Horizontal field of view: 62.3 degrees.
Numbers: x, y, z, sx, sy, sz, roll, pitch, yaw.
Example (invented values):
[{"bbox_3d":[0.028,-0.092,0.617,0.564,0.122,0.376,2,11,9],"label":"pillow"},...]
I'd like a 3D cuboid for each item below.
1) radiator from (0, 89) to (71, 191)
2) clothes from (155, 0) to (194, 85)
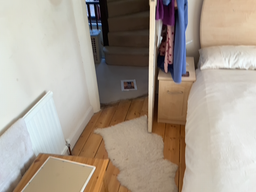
[{"bbox_3d":[-0.620,0.530,1.160,0.060,0.590,1.210,3,34,8],"label":"radiator"},{"bbox_3d":[0.400,-0.830,1.790,0.260,1.360,0.550,4,34,10],"label":"clothes"}]
